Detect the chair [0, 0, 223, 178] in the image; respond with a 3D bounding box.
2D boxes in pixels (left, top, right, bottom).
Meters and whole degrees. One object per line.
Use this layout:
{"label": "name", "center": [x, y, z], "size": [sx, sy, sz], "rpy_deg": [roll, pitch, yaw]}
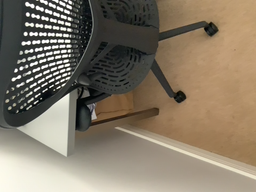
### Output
{"label": "chair", "center": [-0.160, -0.300, 0.950], "size": [0.760, 1.010, 0.660], "rpy_deg": [18, 106, 35]}
